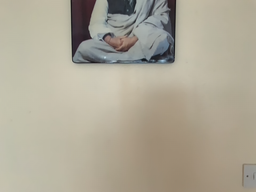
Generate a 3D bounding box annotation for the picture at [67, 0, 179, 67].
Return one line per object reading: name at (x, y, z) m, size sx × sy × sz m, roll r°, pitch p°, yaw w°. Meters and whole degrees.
picture at (-0.020, -0.360, 0.760) m, size 0.400 × 0.500 × 0.020 m, roll 0°, pitch 5°, yaw 4°
